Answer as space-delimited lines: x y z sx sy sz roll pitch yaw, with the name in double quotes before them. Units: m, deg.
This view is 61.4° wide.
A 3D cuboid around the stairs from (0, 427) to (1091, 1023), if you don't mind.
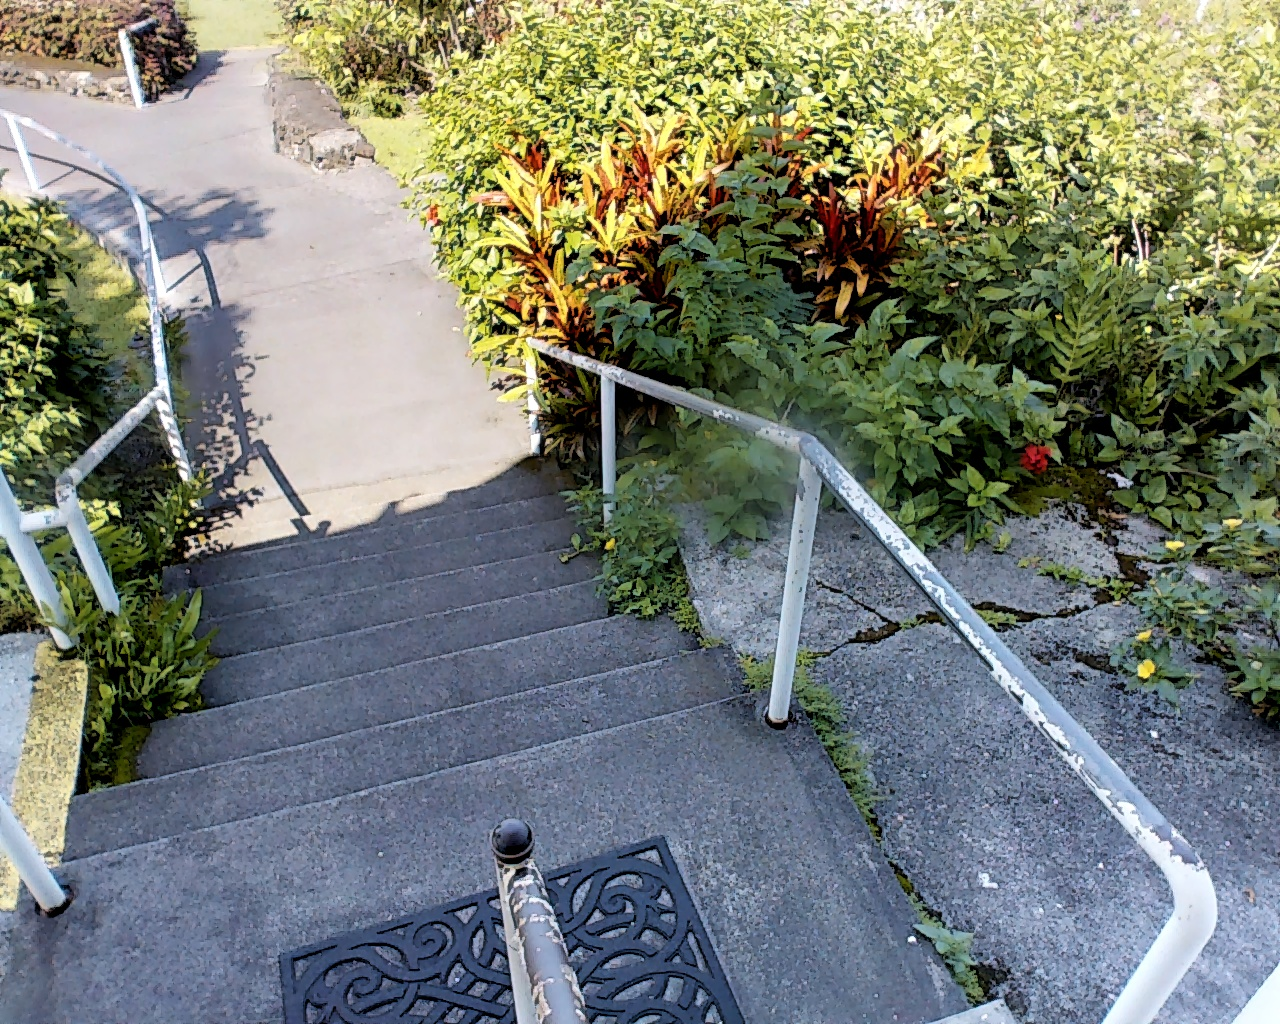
"stairs" -0.430 0.870 2.350 2.070 0.670 2.190 -11 41 -13
